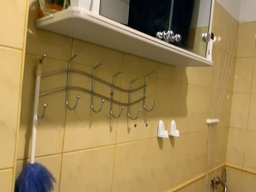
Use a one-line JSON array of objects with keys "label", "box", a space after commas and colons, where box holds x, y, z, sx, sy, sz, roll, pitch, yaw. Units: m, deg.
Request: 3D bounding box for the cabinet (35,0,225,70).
[{"label": "cabinet", "box": [0.100, -0.360, 0.690, 0.170, 0.450, 0.690, 7, 2, 43]}]
